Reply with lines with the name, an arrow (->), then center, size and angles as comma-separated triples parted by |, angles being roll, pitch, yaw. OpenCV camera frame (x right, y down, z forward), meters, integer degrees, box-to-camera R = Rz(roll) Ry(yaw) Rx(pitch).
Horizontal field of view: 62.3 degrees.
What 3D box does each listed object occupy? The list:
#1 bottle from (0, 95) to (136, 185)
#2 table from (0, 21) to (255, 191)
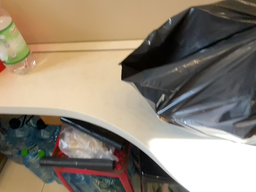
bottle -> -0.310, 0.220, 1.090 | 0.640, 0.340, 0.300 | 0, 50, 11
table -> -0.110, 0.200, 0.830 | 1.260, 0.730, 0.480 | 0, 50, 11
